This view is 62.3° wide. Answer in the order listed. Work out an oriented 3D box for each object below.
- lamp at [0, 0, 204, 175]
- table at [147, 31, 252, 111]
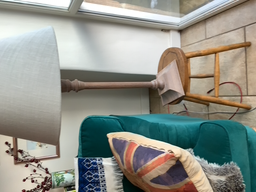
[{"bbox_3d":[-0.160,-0.030,0.980,0.460,0.860,0.520,173,94,-64],"label":"lamp"},{"bbox_3d":[0.410,-0.130,1.280,0.390,0.450,0.380,-175,84,-64],"label":"table"}]
